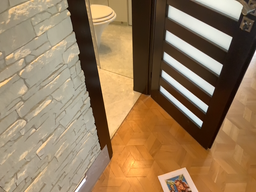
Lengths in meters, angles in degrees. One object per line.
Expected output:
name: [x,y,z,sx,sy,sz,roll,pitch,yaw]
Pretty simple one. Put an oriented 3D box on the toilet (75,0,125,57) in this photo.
toilet: [-0.320,-0.860,2.410,0.440,0.580,0.500,-13,47,-9]
